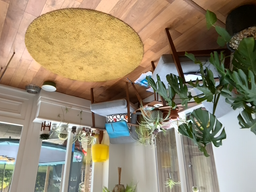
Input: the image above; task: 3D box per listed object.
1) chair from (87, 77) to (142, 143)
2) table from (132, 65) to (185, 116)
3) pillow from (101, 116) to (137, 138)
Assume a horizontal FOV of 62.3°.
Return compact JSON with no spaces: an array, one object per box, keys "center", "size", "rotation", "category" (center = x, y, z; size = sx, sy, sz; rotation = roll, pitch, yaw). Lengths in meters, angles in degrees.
[{"center":[-0.170,0.270,3.370],"size":[0.560,0.730,0.870],"rotation":[-8,155,17],"category":"chair"},{"center":[0.410,-0.050,3.000],"size":[0.470,0.460,0.540],"rotation":[16,151,-33],"category":"table"},{"center":[-0.140,0.520,3.480],"size":[0.460,0.230,0.400],"rotation":[-9,155,18],"category":"pillow"}]
